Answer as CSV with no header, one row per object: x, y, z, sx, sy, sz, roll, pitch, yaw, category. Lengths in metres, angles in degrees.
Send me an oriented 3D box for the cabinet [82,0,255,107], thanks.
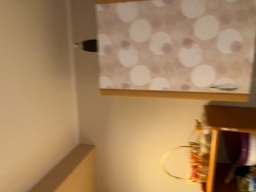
0.200,-0.260,1.120,0.340,0.770,0.510,-42,-47,-69,cabinet

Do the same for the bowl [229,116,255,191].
0.650,0.310,1.150,0.240,0.110,0.340,-41,-48,-70,bowl
